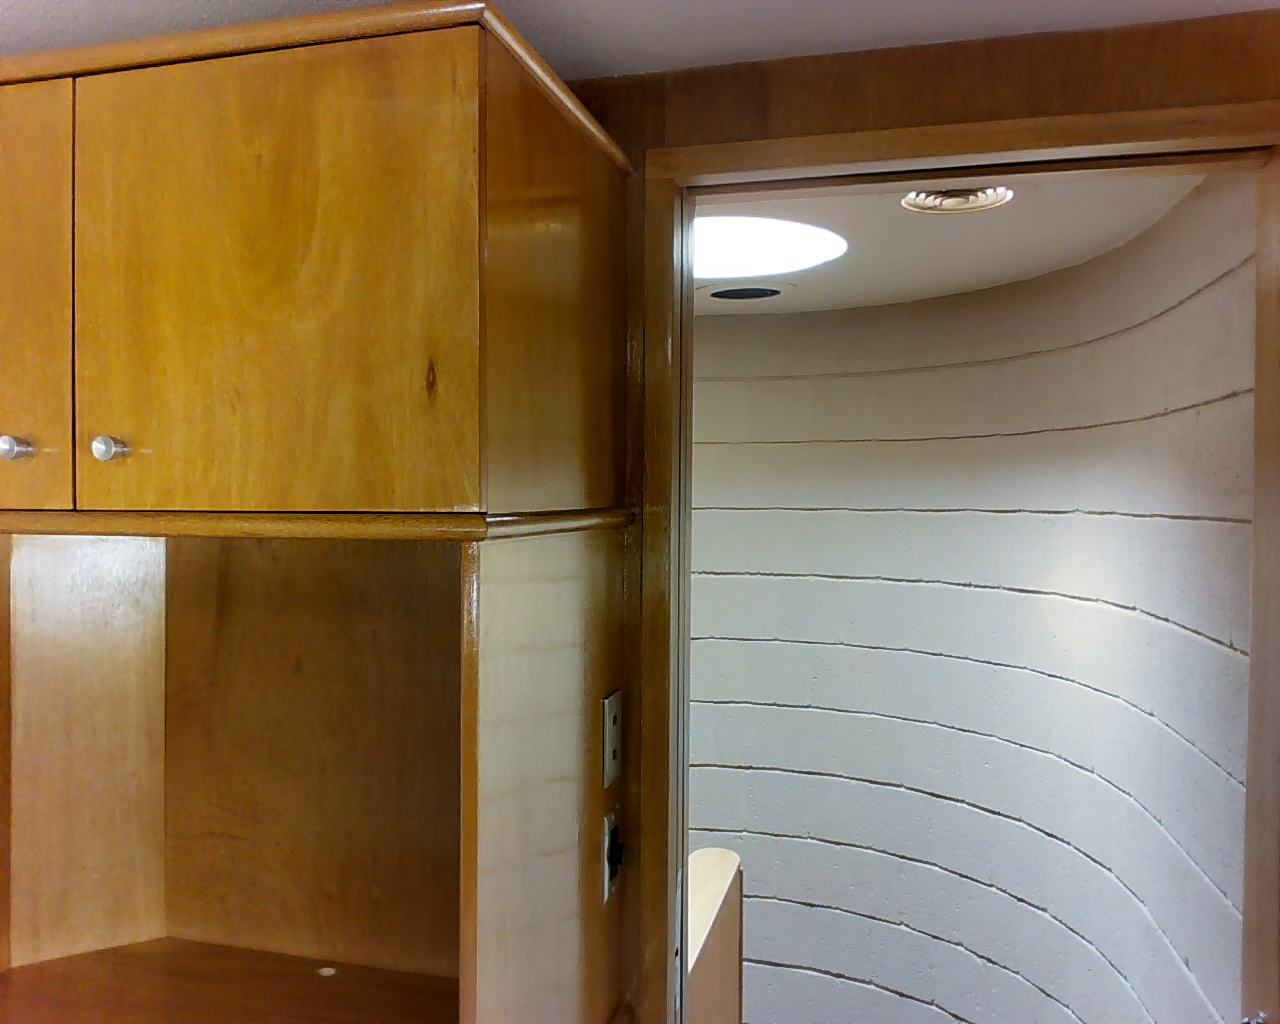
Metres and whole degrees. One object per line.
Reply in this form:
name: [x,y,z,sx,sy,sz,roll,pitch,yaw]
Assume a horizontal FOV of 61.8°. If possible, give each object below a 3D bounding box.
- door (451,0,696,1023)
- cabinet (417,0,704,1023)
door: [-0.050,0.480,1.240,0.070,2.130,0.580,1,1,18]
cabinet: [-0.060,0.120,1.190,0.110,1.220,0.520,1,1,20]
